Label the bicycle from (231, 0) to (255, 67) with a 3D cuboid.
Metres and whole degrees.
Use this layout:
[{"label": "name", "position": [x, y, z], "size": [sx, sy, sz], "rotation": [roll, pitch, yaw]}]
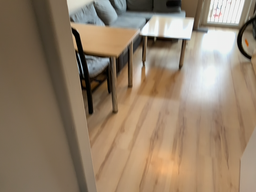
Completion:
[{"label": "bicycle", "position": [2.330, -1.320, 3.660], "size": [0.710, 1.060, 1.560], "rotation": [12, 37, 16]}]
